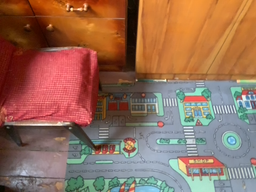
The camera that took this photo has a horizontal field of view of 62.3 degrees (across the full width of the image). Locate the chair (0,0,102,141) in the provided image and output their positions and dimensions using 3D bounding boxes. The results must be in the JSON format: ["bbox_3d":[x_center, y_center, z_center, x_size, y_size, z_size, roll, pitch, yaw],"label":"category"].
[{"bbox_3d":[-0.470,-0.100,1.010,0.600,0.730,0.430,1,62,-1],"label":"chair"}]
